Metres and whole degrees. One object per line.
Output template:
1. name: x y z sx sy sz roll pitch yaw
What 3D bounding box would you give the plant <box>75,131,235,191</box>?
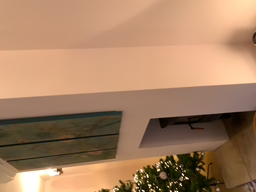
1. plant: 0.250 1.140 2.590 0.890 1.650 1.010 102 162 -58
